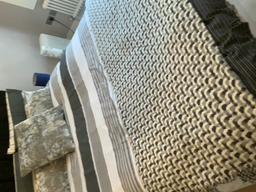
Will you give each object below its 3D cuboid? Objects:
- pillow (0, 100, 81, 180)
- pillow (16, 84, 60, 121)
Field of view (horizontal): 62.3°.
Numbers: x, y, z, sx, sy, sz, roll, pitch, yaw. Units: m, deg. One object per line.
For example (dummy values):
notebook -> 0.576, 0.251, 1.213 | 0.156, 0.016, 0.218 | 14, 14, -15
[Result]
pillow -> -0.740, 0.330, 1.790 | 0.520, 0.500, 0.200 | 44, 104, -1
pillow -> -0.870, 0.050, 2.070 | 0.070, 0.280, 0.360 | -41, 74, 27
